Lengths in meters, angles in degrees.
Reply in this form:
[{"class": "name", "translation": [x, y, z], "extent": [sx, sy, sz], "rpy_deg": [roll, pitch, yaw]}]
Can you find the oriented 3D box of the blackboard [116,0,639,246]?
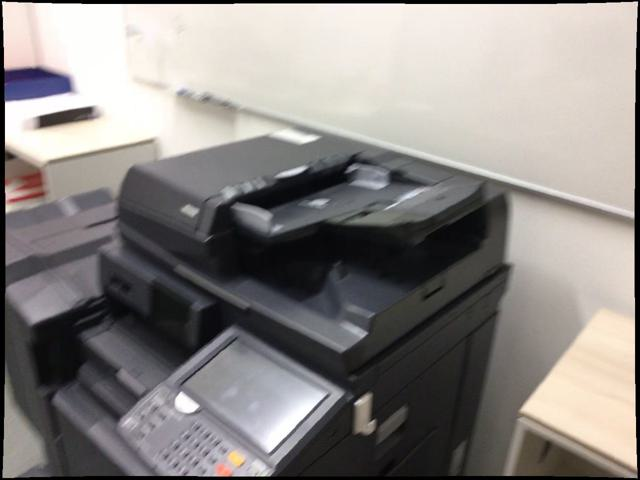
[{"class": "blackboard", "translation": [0.150, -0.651, 1.240], "extent": [1.889, 0.981, 0.080], "rpy_deg": [22, 32, 31]}]
